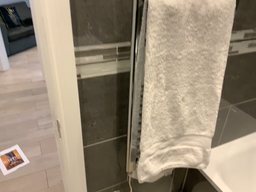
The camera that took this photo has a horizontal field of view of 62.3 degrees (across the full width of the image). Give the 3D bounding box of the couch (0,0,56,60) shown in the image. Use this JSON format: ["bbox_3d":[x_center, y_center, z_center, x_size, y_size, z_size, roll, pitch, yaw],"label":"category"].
[{"bbox_3d":[-2.400,-1.550,4.420,0.890,1.040,1.480,11,31,14],"label":"couch"}]
